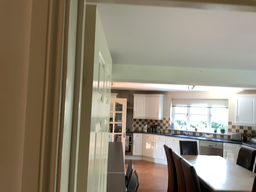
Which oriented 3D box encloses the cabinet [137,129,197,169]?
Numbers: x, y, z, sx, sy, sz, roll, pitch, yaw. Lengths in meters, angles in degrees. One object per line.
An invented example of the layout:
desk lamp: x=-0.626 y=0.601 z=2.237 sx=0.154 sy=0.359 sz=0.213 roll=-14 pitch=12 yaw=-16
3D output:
cabinet: x=1.190 y=1.590 z=6.620 sx=1.730 sy=0.900 sz=0.600 roll=0 pitch=-3 yaw=32

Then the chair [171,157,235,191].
chair: x=0.930 y=1.340 z=2.720 sx=0.630 sy=0.980 sz=0.470 roll=2 pitch=-3 yaw=-5
